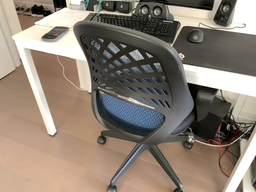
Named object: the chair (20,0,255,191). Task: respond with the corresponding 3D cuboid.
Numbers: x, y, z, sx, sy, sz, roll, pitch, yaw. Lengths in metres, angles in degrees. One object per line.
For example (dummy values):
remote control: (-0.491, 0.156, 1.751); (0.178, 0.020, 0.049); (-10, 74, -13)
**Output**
chair: (0.100, 0.030, 1.080); (0.690, 0.930, 0.640); (13, 40, 15)
